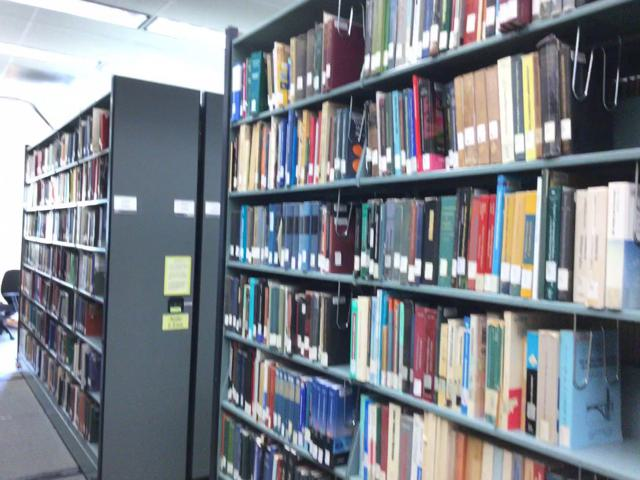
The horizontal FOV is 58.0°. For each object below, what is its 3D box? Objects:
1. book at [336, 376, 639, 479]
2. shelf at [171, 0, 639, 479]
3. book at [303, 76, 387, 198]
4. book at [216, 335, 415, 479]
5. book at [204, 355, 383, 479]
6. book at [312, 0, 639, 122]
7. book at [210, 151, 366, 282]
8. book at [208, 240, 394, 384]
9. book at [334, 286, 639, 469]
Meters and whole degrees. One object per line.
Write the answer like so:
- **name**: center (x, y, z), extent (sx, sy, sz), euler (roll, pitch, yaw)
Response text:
- **book**: center (0.380, 0.590, 1.520), extent (0.240, 0.330, 0.800), euler (5, -6, -35)
- **shelf**: center (0.760, 0.370, 1.120), extent (0.650, 2.700, 3.860), euler (5, -6, -35)
- **book**: center (0.080, -0.330, 1.930), extent (0.140, 0.340, 0.260), euler (5, -6, -35)
- **book**: center (-0.070, 0.590, 2.140), extent (0.220, 0.390, 0.960), euler (5, -6, -35)
- **book**: center (-0.150, 0.800, 2.160), extent (0.170, 0.620, 0.950), euler (5, -6, -35)
- **book**: center (0.370, -0.600, 1.500), extent (0.220, 0.320, 1.050), euler (5, -6, -35)
- **book**: center (-0.160, -0.050, 2.200), extent (0.150, 0.410, 0.850), euler (5, -6, -35)
- **book**: center (-0.120, 0.250, 2.210), extent (0.230, 0.440, 0.920), euler (5, -6, -35)
- **book**: center (0.390, 0.300, 1.530), extent (0.270, 0.340, 0.810), euler (5, -6, -35)
